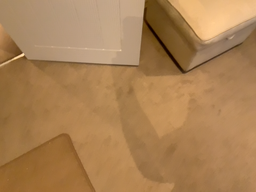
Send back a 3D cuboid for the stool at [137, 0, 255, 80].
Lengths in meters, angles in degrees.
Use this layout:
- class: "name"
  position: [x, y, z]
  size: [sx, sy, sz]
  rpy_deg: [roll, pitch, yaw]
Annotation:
- class: "stool"
  position: [0.460, -0.550, 1.410]
  size: [0.560, 0.430, 0.580]
  rpy_deg: [-28, 70, -12]
